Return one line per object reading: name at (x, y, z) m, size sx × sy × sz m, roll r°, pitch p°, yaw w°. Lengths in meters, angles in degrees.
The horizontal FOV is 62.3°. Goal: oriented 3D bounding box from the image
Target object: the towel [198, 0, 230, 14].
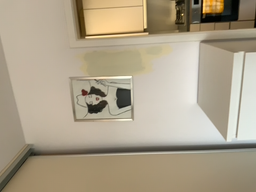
towel at (1.060, -1.180, 2.630) m, size 0.160 × 0.330 × 0.280 m, roll -86°, pitch -8°, yaw -72°
